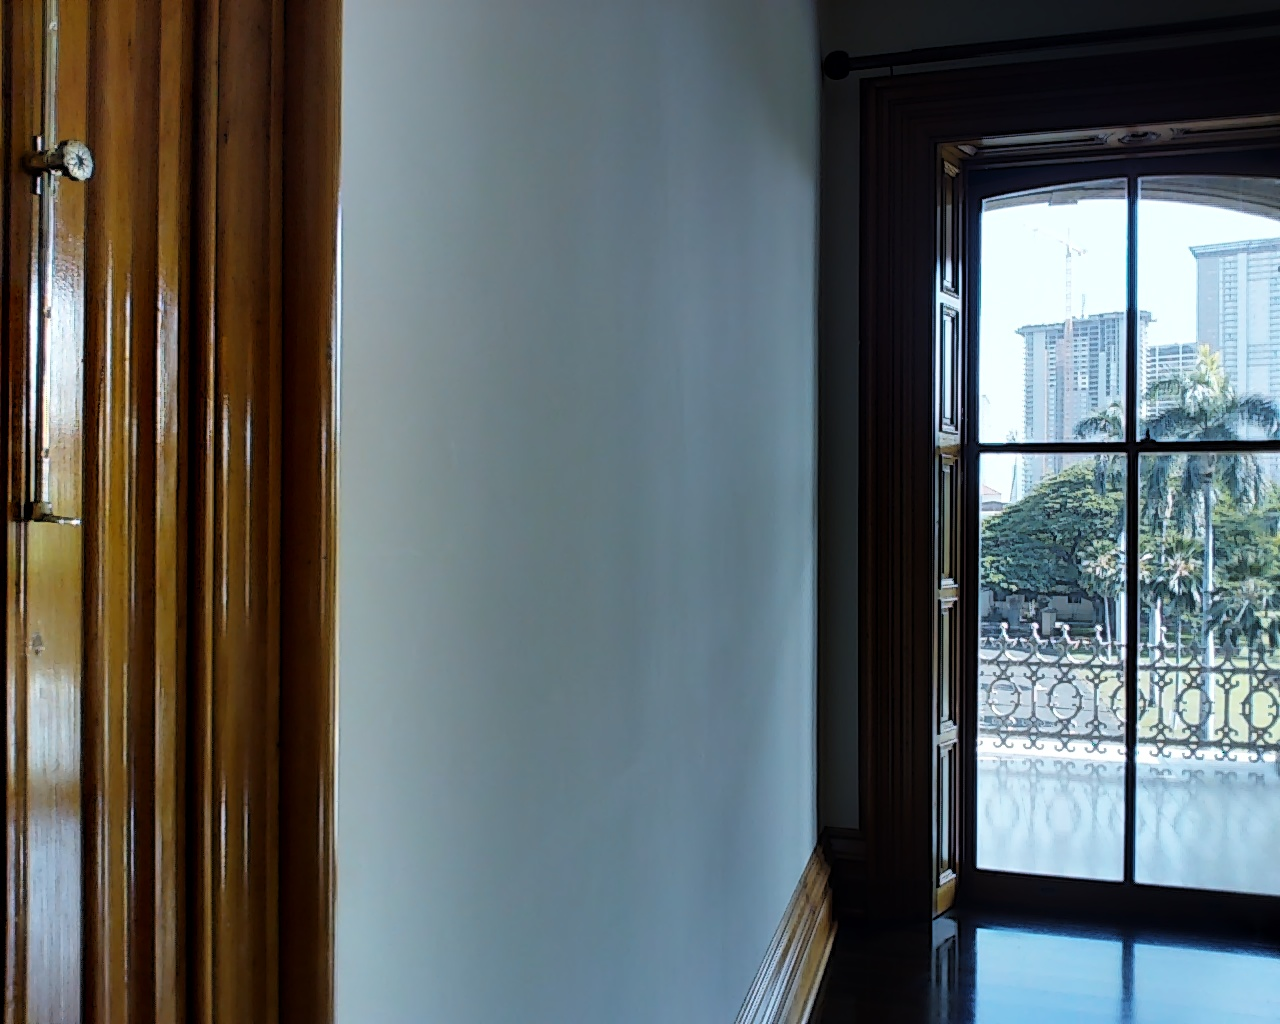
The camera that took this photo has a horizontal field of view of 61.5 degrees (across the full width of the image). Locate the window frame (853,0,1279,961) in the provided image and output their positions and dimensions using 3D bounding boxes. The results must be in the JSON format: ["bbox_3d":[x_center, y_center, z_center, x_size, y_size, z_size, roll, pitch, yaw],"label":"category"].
[{"bbox_3d":[1.990,-0.140,4.170,2.200,3.430,0.570,1,0,18],"label":"window frame"}]
